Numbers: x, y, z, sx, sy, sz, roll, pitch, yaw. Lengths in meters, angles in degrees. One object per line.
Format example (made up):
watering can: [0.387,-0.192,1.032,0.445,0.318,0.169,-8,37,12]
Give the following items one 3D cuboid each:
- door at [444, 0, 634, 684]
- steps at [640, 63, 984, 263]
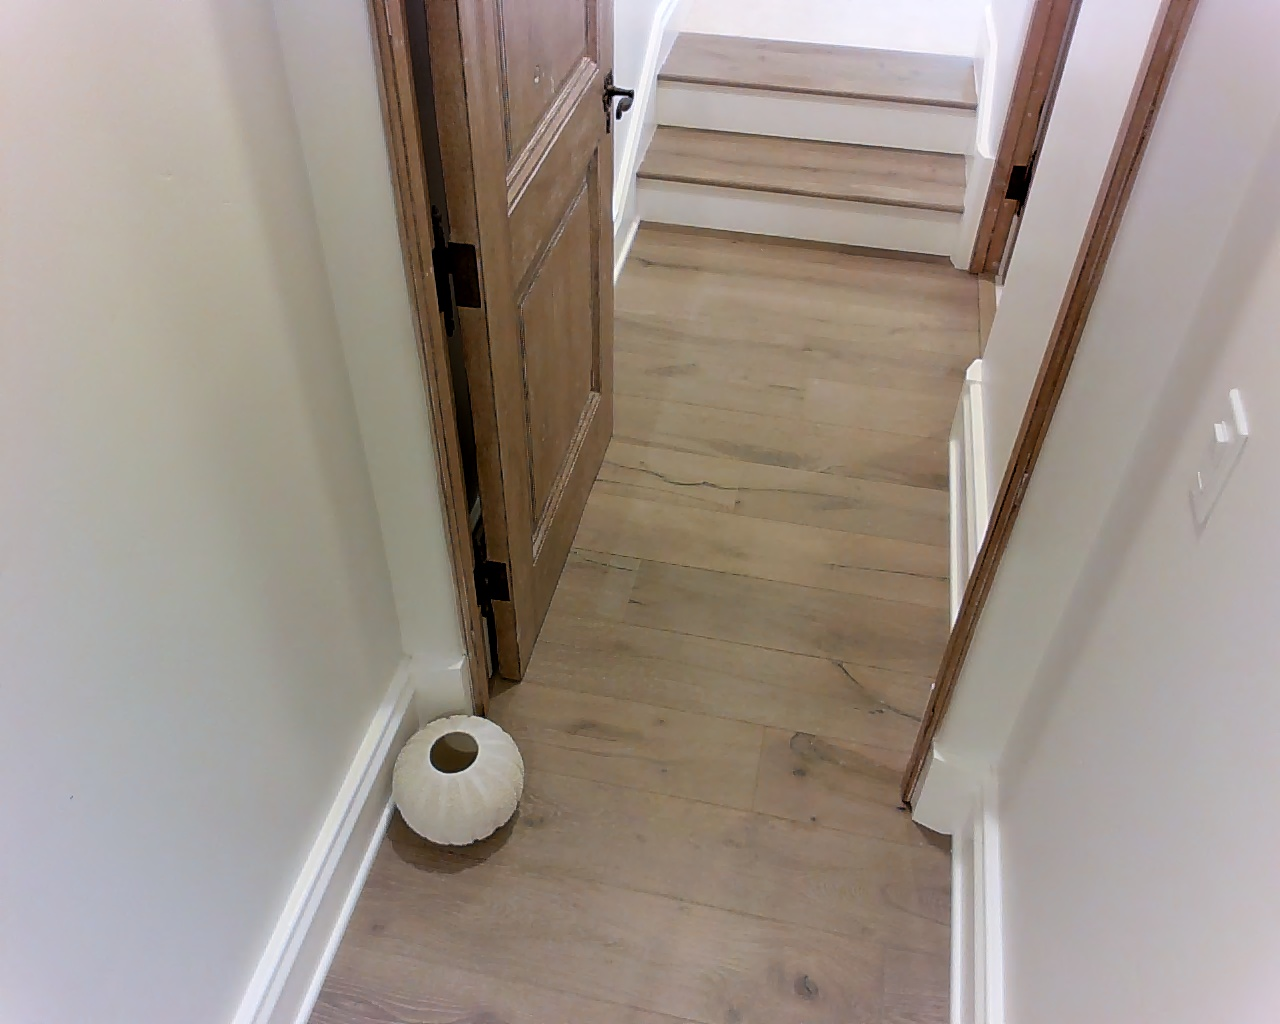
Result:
door: [-0.120,-0.820,1.590,0.050,2.470,0.810,9,45,8]
steps: [0.530,-1.110,3.400,1.000,0.370,0.390,9,45,8]
